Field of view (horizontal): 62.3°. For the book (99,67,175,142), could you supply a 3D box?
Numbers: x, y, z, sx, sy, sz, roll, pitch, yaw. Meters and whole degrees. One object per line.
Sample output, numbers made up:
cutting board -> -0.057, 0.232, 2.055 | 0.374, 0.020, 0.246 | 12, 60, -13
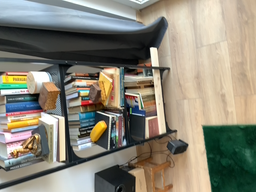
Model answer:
book -> 0.070, 0.060, 1.680 | 0.410, 0.370, 0.500 | -7, 89, 45
